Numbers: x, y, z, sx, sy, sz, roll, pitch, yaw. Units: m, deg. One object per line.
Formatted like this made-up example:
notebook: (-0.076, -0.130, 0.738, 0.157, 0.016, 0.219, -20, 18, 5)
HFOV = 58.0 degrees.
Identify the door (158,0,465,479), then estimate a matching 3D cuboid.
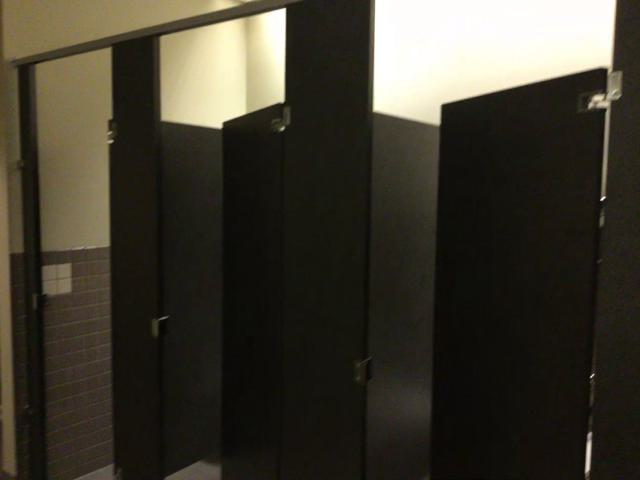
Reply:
door: (-0.080, 0.290, 1.950, 0.990, 2.070, 0.340, 3, 4, 35)
